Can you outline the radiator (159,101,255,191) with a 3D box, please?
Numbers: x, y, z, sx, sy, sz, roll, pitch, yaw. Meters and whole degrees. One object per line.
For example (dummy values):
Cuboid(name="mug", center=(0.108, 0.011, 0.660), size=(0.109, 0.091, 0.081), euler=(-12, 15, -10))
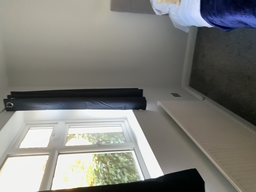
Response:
Cuboid(name="radiator", center=(0.820, 0.290, 1.740), size=(1.280, 0.750, 0.060), euler=(-120, 31, -69))
